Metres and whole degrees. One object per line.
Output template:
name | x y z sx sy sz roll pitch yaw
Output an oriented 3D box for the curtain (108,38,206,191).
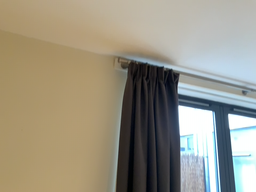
curtain | 0.140 0.900 1.060 0.480 2.430 0.250 9 -18 -21
